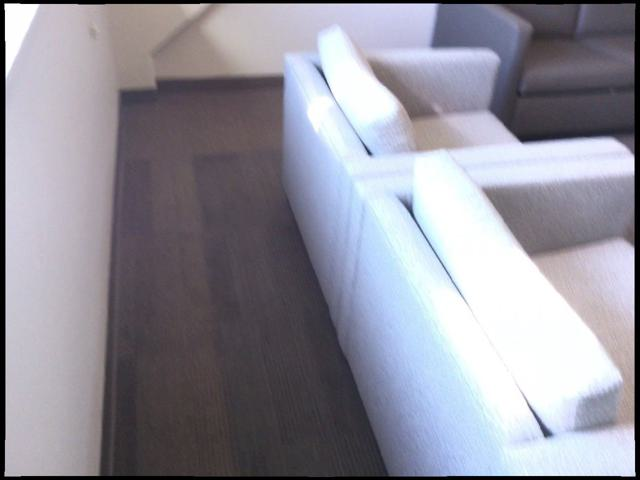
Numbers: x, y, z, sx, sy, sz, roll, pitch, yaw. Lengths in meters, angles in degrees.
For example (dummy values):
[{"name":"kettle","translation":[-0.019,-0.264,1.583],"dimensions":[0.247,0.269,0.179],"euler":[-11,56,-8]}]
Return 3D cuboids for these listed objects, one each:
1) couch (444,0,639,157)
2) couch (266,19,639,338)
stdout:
[{"name":"couch","translation":[1.697,-1.032,3.210],"dimensions":[1.657,0.721,0.851],"euler":[-5,39,-14]},{"name":"couch","translation":[0.359,-0.271,2.010],"dimensions":[0.938,0.691,0.861],"euler":[-5,39,-14]}]
